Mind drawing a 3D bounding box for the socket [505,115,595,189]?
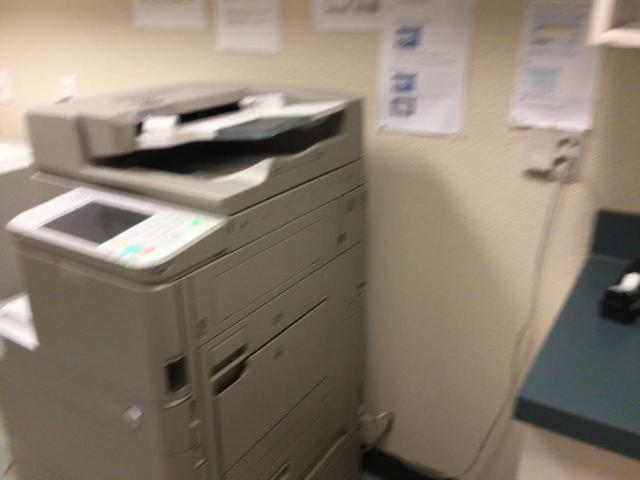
[{"bbox_3d":[0.490,-0.190,1.240,0.160,0.140,0.020,12,22,29],"label":"socket"}]

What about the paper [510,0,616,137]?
[{"bbox_3d":[0.490,-0.350,1.180,0.160,0.260,0.030,12,22,29],"label":"paper"}]

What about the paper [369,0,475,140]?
[{"bbox_3d":[0.230,-0.490,1.300,0.220,0.500,0.040,12,22,29],"label":"paper"}]
